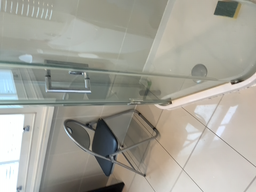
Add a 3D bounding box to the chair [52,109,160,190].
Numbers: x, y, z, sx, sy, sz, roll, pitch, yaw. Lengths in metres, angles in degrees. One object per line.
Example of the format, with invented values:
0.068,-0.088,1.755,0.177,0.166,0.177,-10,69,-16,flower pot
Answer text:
-0.200,0.410,1.840,0.420,0.750,0.410,46,126,45,chair
